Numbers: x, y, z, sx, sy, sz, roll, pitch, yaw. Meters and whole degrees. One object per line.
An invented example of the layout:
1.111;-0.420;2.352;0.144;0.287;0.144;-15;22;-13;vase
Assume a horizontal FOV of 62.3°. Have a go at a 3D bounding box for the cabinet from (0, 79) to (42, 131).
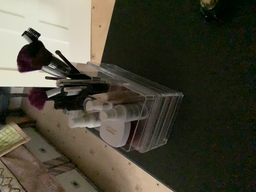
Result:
-1.310;0.080;2.050;0.420;0.730;0.380;25;107;34;cabinet
